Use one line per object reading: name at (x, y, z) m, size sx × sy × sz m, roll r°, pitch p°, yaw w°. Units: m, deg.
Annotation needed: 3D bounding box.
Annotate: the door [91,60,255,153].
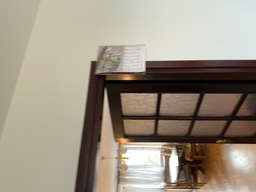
door at (0.810, 0.160, 1.710) m, size 1.040 × 2.040 × 0.150 m, roll 88°, pitch -177°, yaw -50°
